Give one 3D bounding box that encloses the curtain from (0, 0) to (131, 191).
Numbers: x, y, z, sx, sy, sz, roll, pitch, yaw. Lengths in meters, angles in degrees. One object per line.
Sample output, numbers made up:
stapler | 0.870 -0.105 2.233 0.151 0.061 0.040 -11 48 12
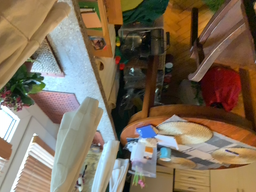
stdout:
curtain | -0.270 0.610 0.960 0.080 2.100 2.300 5 149 9
